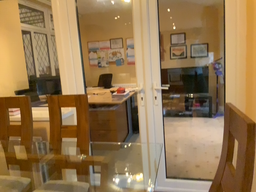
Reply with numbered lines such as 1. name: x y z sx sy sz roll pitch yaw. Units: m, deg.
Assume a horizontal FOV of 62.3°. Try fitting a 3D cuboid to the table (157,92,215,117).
1. table: 1.240 0.180 4.630 1.170 0.450 0.360 -2 10 10
